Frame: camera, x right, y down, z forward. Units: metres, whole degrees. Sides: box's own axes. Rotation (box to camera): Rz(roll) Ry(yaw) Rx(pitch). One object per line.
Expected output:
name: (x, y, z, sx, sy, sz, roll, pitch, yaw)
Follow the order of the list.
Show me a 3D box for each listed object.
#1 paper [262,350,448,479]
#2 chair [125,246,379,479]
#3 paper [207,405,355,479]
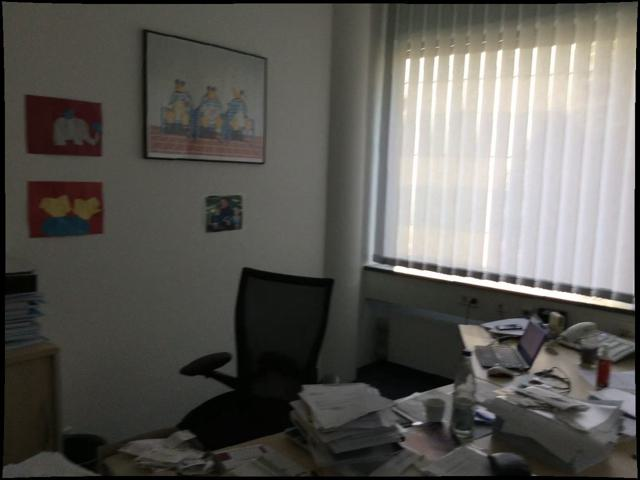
paper: (0.080, 0.521, 1.760, 0.410, 0.180, 0.470, -2, 10, -19)
chair: (-0.250, 0.651, 2.380, 0.689, 1.091, 0.750, 7, 11, 28)
paper: (-0.110, 0.591, 1.610, 0.330, 0.080, 0.250, 10, 13, 40)
